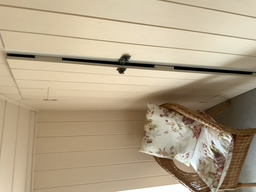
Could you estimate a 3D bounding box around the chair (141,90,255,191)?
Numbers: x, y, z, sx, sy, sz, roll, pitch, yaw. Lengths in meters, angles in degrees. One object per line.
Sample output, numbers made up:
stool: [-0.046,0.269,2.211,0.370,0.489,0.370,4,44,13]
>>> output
chair: [0.620,0.340,1.730,0.600,0.780,0.600,-135,50,-63]
